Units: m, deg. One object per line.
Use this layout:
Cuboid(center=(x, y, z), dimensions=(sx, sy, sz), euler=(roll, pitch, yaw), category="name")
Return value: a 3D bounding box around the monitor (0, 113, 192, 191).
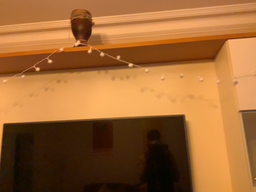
Cuboid(center=(-0.250, 0.490, 1.350), dimensions=(1.250, 0.690, 0.050), euler=(-4, -14, 5), category="monitor")
